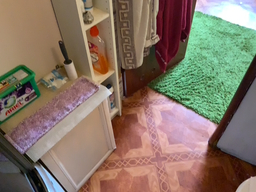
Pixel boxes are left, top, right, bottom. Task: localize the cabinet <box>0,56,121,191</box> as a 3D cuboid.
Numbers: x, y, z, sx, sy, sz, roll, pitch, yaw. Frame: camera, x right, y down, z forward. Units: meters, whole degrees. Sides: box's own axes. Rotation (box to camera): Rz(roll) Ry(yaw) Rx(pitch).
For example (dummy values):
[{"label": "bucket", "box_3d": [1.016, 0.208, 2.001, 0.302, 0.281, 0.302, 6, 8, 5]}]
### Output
[{"label": "cabinet", "box_3d": [-0.340, 0.190, 1.180, 0.350, 0.570, 0.460, 32, 58, 26]}]
